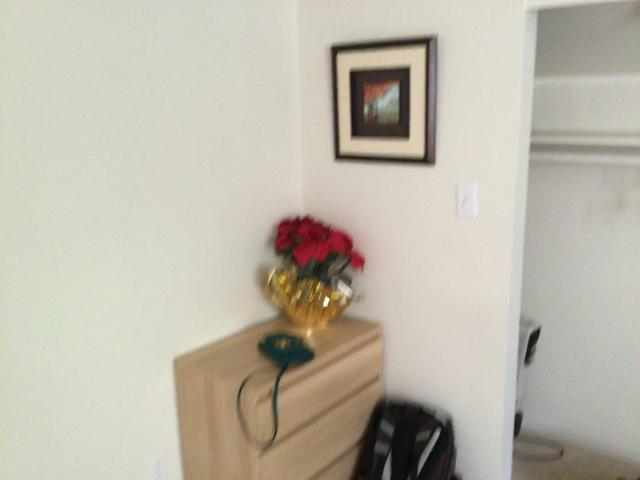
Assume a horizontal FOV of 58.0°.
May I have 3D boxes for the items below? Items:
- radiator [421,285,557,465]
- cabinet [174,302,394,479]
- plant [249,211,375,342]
[{"bbox_3d":[0.760,0.580,2.620,0.440,0.630,0.340,10,11,35],"label":"radiator"},{"bbox_3d":[-0.120,0.700,2.150,0.450,0.750,0.690,10,11,35],"label":"cabinet"},{"bbox_3d":[-0.030,0.120,2.230,0.330,0.410,0.330,10,11,35],"label":"plant"}]
